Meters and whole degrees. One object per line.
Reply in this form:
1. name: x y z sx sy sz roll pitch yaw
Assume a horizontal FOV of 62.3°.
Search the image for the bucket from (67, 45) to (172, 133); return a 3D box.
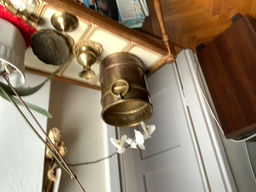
1. bucket: -0.040 0.000 0.820 0.270 0.170 0.280 18 143 -38
